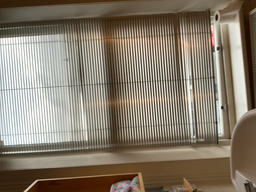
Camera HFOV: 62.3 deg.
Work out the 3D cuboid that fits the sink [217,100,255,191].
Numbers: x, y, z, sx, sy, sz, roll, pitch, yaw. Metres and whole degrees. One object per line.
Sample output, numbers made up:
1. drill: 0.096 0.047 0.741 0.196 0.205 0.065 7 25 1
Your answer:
1. sink: 0.590 0.260 0.860 0.600 0.180 0.480 150 118 -89
